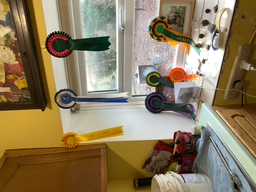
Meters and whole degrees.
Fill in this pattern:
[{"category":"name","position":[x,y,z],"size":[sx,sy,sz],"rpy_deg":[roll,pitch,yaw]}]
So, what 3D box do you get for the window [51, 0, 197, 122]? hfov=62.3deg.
[{"category":"window","position":[-0.020,-0.390,1.530],"size":[0.080,0.950,1.260],"rpy_deg":[-106,16,-62]}]
